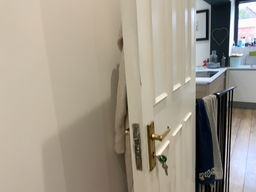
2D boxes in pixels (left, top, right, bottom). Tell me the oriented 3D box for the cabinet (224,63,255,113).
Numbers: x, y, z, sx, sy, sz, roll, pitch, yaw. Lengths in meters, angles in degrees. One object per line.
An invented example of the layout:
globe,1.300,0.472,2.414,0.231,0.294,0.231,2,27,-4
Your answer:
cabinet,2.760,-0.190,4.650,1.060,0.980,0.660,5,16,32
